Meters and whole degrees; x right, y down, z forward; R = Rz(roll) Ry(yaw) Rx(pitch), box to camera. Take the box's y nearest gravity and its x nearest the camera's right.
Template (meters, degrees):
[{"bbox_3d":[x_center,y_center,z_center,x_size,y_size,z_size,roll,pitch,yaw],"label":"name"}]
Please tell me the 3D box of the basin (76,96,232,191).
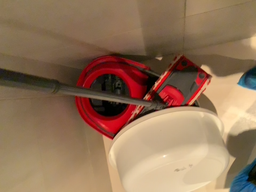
[{"bbox_3d":[0.110,0.210,0.800,0.420,0.380,0.350,-9,90,13],"label":"basin"}]
